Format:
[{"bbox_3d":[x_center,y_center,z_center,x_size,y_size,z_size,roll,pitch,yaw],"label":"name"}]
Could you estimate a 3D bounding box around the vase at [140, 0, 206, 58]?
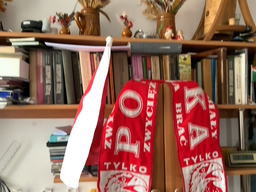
[{"bbox_3d":[0.190,-0.360,0.960,0.240,0.320,0.190,1,-5,-7],"label":"vase"}]
